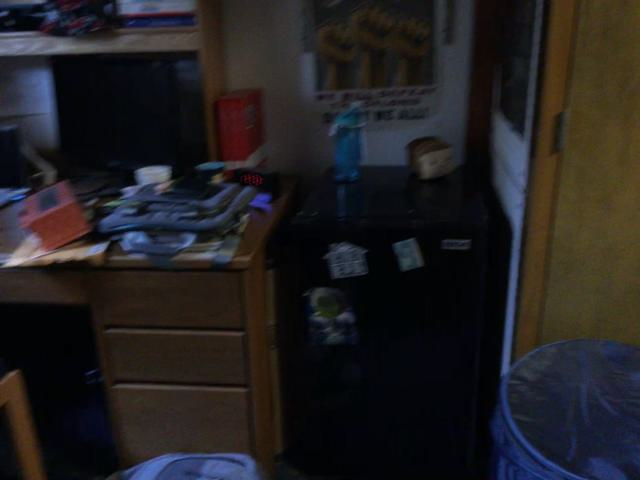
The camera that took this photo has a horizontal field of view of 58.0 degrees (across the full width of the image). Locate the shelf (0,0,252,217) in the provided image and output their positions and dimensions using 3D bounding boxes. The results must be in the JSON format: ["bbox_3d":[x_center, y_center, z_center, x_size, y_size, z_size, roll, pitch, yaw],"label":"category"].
[{"bbox_3d":[-0.890,-0.510,1.970,1.170,0.780,0.350,-2,19,11],"label":"shelf"}]

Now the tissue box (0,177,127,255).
[{"bbox_3d":[-0.700,-0.070,1.540,0.230,0.120,0.290,-2,19,11],"label":"tissue box"}]
